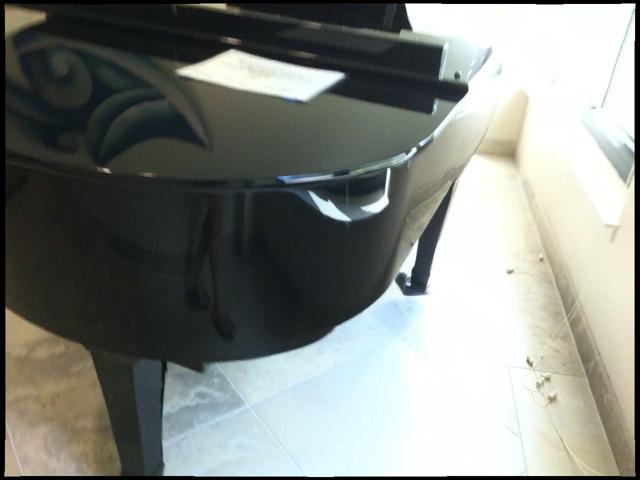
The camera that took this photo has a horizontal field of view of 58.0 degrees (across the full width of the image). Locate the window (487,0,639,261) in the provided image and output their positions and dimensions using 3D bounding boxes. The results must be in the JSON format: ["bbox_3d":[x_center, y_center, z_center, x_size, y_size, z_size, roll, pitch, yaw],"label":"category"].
[{"bbox_3d":[1.148,-0.762,2.510,0.419,0.821,1.811,8,32,3],"label":"window"}]
